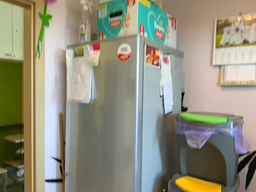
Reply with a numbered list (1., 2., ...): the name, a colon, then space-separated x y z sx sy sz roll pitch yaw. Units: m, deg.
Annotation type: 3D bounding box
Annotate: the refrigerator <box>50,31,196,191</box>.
1. refrigerator: -0.010 0.580 1.460 0.640 1.770 0.770 3 3 37
